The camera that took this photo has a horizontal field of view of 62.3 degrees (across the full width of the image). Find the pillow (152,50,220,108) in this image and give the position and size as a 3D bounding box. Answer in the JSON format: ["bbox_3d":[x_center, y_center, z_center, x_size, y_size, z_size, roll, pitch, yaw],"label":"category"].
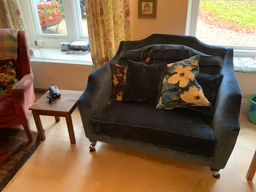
[{"bbox_3d":[0.490,-0.130,1.840,0.460,0.510,0.270,9,74,16],"label":"pillow"}]

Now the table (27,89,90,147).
[{"bbox_3d":[-0.690,0.210,2.200,0.420,0.400,0.400,5,30,11],"label":"table"}]
